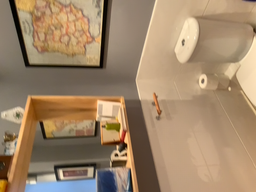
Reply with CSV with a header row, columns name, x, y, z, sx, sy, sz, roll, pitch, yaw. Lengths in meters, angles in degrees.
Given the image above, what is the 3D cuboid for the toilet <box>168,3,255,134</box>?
name,x,y,z,sx,sy,sz,roll,pitch,yaw
toilet,0.810,-0.180,1.340,0.400,0.880,0.680,105,160,-49
